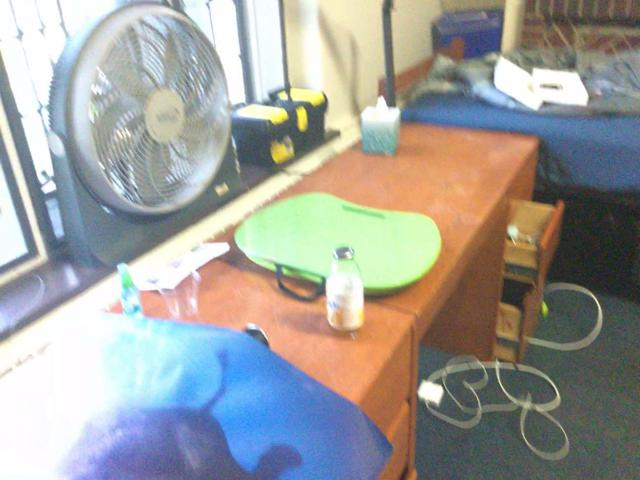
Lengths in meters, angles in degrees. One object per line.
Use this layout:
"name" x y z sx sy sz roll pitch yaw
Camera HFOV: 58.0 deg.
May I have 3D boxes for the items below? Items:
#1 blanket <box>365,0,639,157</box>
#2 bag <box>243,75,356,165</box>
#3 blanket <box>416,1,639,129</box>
"blanket" 1.190 -0.660 2.190 1.850 0.430 0.810 12 32 31
"bag" -0.060 -0.450 2.100 0.180 0.200 0.430 12 32 31
"blanket" 1.230 -0.680 2.160 1.530 0.310 0.780 12 32 31
